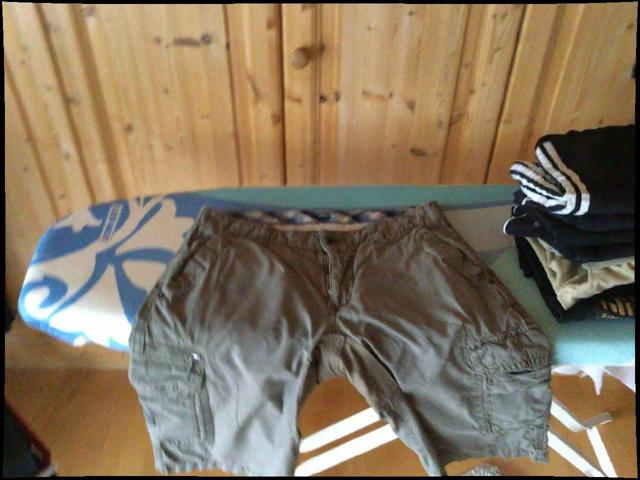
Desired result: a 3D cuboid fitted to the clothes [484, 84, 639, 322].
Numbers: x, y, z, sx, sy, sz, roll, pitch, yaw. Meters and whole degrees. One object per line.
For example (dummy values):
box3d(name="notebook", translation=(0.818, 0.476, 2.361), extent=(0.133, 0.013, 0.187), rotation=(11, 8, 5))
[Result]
box3d(name="clothes", translation=(0.539, -0.070, 0.910), extent=(0.460, 0.200, 0.350), rotation=(1, 41, 2))
